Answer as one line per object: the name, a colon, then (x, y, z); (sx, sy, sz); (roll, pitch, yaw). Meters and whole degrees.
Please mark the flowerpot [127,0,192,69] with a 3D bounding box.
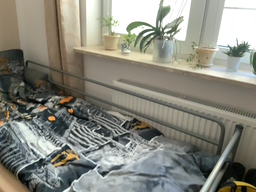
flowerpot: (0.200, -0.430, 1.410); (0.320, 0.410, 0.220); (17, 25, 31)
